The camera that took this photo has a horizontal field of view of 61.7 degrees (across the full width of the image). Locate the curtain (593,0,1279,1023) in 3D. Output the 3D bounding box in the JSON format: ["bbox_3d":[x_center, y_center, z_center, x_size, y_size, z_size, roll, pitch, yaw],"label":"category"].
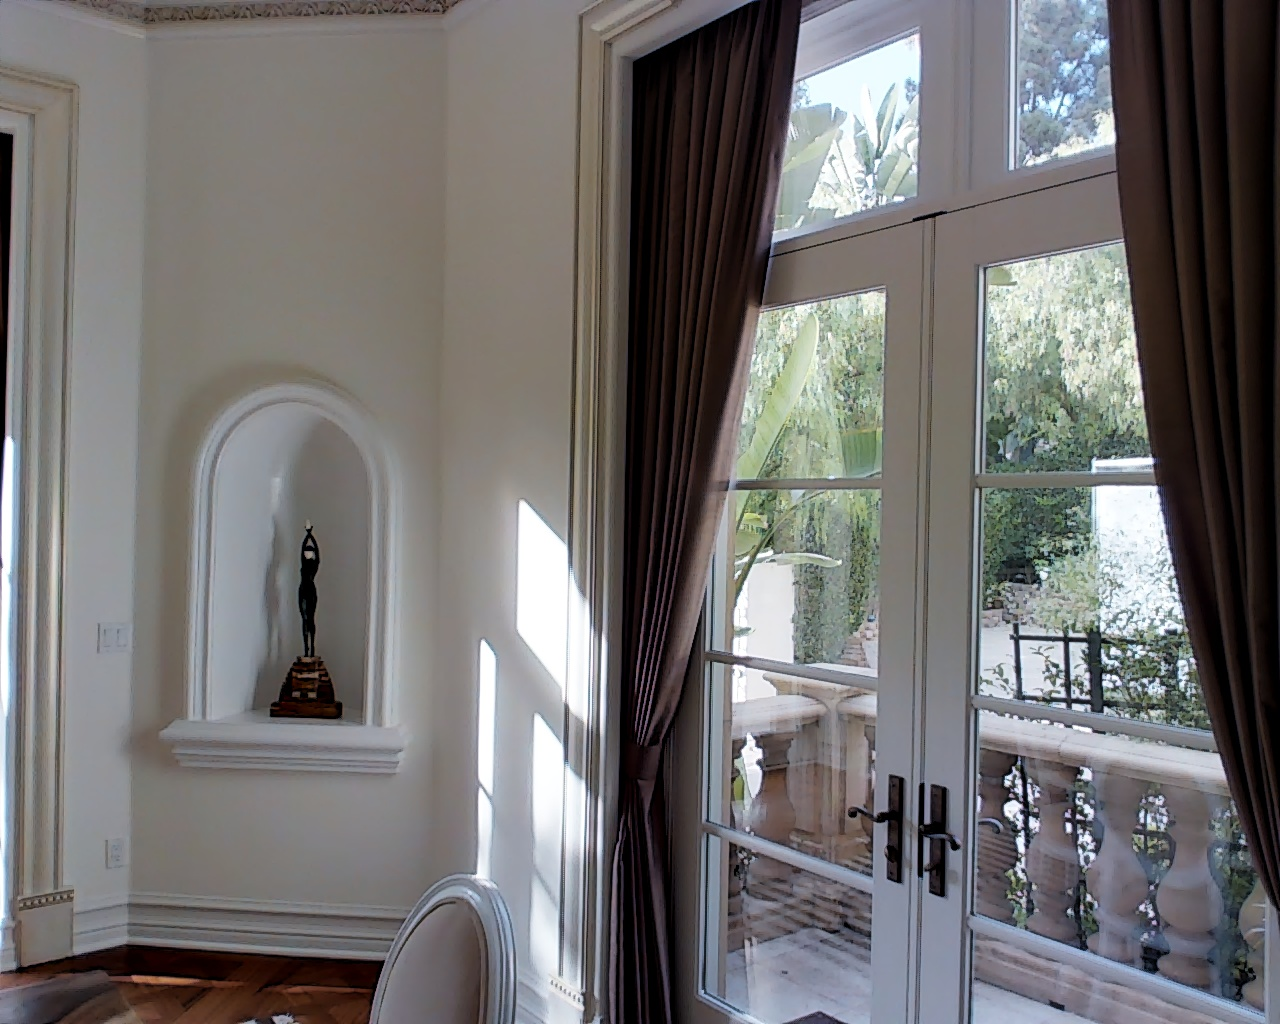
[{"bbox_3d":[0.650,0.120,2.570,0.380,3.141,1.970,1,0,-38],"label":"curtain"}]
